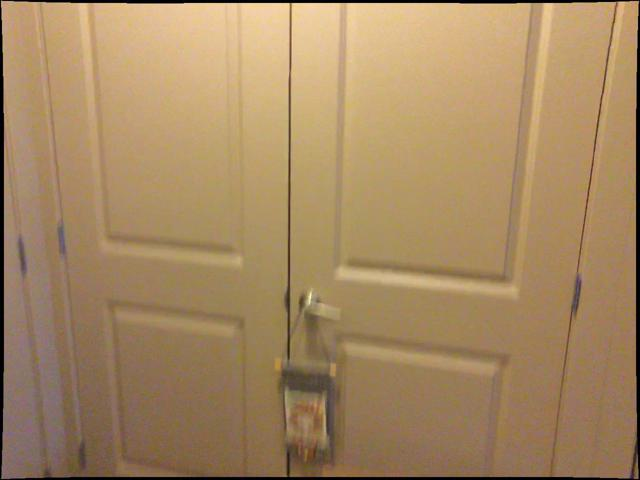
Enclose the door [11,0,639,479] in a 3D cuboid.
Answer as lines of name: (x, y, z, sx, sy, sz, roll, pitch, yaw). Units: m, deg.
door: (0.020, 0.010, 1.570, 1.846, 2.095, 0.280, 6, 10, 18)
